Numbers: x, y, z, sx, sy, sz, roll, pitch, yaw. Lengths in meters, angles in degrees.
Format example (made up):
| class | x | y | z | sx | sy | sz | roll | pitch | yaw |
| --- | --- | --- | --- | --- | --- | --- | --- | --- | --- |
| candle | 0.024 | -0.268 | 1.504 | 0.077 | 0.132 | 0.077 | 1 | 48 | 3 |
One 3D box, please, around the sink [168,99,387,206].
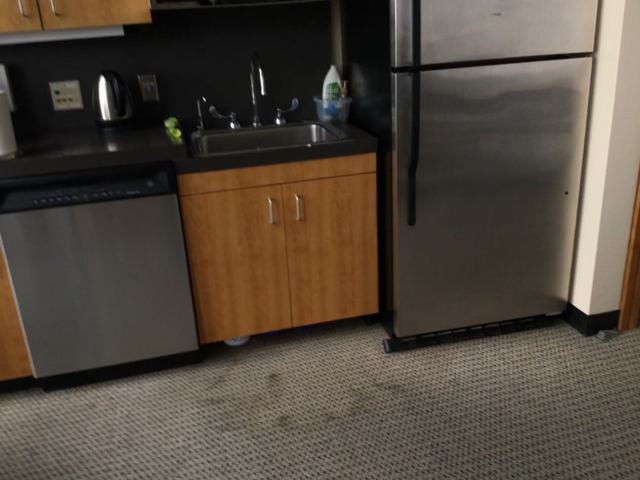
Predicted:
| class | x | y | z | sx | sy | sz | roll | pitch | yaw |
| --- | --- | --- | --- | --- | --- | --- | --- | --- | --- |
| sink | -0.190 | -0.390 | 2.400 | 0.790 | 0.250 | 0.560 | -8 | 20 | -8 |
